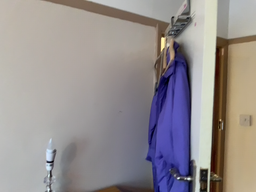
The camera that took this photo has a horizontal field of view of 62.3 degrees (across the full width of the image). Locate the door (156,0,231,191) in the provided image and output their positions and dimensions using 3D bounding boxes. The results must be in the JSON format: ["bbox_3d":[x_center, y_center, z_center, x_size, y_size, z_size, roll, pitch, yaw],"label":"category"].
[{"bbox_3d":[0.240,0.560,1.080,0.050,1.990,0.860,1,3,-1],"label":"door"}]
